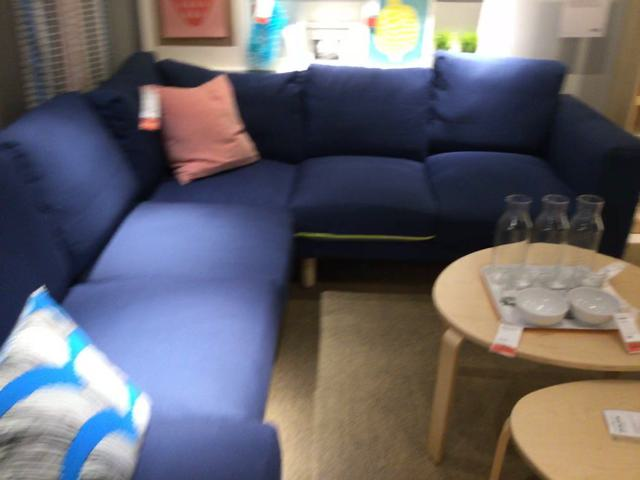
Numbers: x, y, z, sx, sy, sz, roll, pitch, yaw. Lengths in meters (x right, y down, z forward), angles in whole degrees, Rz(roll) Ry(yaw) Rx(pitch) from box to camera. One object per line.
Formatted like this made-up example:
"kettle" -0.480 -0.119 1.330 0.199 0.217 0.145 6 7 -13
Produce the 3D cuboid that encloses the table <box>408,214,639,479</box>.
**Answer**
"table" 0.660 0.310 1.690 0.740 0.530 0.690 -2 24 4
